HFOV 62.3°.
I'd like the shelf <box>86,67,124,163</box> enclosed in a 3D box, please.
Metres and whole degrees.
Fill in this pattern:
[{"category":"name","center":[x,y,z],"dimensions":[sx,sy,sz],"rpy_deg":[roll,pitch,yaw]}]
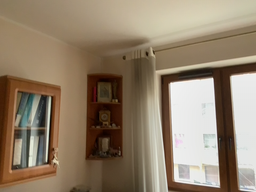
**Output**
[{"category":"shelf","center":[-0.290,0.240,2.730],"dimensions":[0.370,1.130,0.290],"rpy_deg":[-6,-10,33]}]

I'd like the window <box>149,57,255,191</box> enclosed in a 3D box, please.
[{"category":"window","center":[0.990,0.360,2.270],"dimensions":[1.540,1.450,0.150],"rpy_deg":[-5,-9,28]}]

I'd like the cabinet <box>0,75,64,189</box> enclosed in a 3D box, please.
[{"category":"cabinet","center":[-0.880,0.280,1.760],"dimensions":[0.360,0.770,0.540],"rpy_deg":[-5,-9,30]}]
